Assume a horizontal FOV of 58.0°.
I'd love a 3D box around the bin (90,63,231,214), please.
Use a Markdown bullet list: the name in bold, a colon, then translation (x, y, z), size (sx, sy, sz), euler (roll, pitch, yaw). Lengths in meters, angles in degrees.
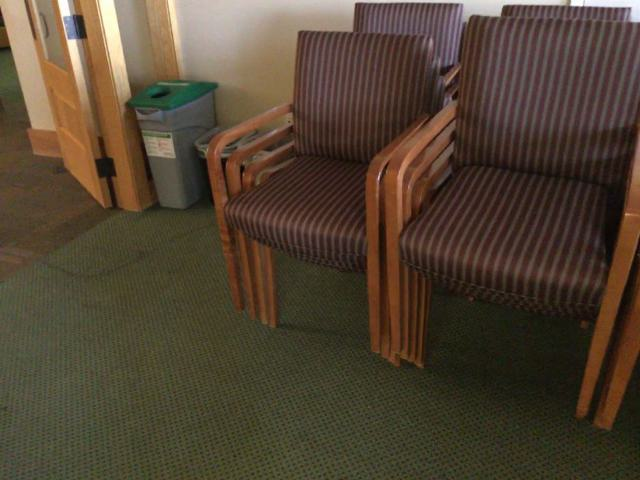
- **bin**: translation (-0.860, -0.590, 3.250), size (0.420, 0.660, 0.560), euler (12, 30, 23)
